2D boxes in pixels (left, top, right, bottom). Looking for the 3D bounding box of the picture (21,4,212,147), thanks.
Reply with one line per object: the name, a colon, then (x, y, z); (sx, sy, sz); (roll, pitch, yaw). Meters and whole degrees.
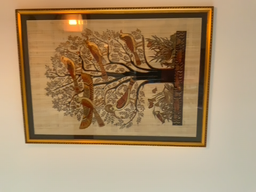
picture: (-0.070, -0.090, 1.100); (0.040, 0.920, 0.710); (-72, -18, -78)
